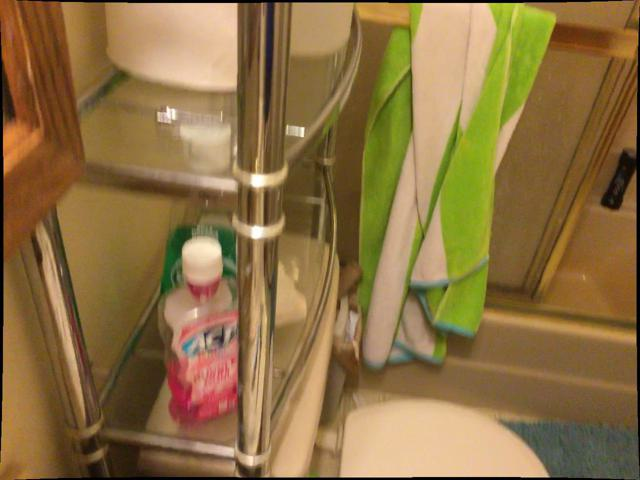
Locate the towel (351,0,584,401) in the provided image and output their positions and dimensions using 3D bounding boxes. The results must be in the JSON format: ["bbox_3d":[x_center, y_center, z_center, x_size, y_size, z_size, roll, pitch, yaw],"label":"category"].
[{"bbox_3d":[0.260,-0.050,1.290,0.320,0.981,0.200,4,36,4],"label":"towel"}]
